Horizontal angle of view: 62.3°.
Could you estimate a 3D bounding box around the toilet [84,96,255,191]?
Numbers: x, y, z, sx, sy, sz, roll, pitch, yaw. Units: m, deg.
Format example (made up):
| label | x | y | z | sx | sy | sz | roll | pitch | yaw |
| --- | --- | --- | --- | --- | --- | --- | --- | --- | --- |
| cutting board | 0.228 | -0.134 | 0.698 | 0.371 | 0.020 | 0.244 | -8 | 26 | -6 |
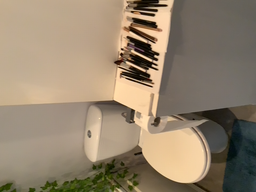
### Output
| label | x | y | z | sx | sy | sz | roll | pitch | yaw |
| --- | --- | --- | --- | --- | --- | --- | --- | --- | --- |
| toilet | 0.240 | 0.320 | 1.310 | 0.690 | 0.740 | 0.450 | 24 | 110 | 49 |
